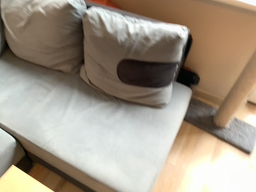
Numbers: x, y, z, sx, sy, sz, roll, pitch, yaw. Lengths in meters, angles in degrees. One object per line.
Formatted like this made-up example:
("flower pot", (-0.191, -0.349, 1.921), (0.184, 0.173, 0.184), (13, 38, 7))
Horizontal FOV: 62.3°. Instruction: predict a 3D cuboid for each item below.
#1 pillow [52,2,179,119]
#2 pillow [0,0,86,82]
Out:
("pillow", (-0.040, -0.170, 1.160), (0.510, 0.460, 0.270), (24, 70, 16))
("pillow", (-0.550, -0.350, 1.270), (0.510, 0.420, 0.150), (25, 66, 17))
